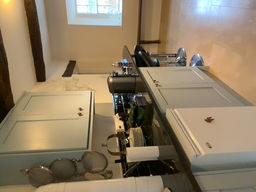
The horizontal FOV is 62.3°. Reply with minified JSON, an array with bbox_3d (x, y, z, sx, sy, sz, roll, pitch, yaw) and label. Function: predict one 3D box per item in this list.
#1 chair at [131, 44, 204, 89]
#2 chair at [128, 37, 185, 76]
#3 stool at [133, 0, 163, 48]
[{"bbox_3d":[0.490,-0.410,2.900,0.500,0.820,0.450,-105,17,-61],"label":"chair"},{"bbox_3d":[0.430,-0.620,3.410,0.440,0.780,0.420,100,167,-55],"label":"chair"},{"bbox_3d":[0.410,-1.690,4.390,0.260,0.510,1.350,-107,17,-61],"label":"stool"}]
